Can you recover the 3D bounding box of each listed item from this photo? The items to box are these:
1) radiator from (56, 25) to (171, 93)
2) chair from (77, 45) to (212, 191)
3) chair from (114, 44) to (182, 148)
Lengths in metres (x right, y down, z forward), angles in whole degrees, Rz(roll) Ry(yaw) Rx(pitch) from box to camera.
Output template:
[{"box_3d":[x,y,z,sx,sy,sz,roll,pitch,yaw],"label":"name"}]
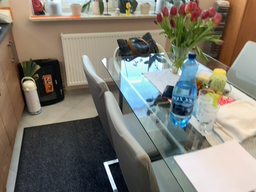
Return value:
[{"box_3d":[-0.140,-0.460,2.570,1.300,0.690,0.140,-8,32,-17],"label":"radiator"},{"box_3d":[0.050,0.210,1.400,0.620,0.940,0.430,-9,33,-18],"label":"chair"},{"box_3d":[0.130,-0.010,1.930,0.430,0.780,0.450,-7,32,-15],"label":"chair"}]
